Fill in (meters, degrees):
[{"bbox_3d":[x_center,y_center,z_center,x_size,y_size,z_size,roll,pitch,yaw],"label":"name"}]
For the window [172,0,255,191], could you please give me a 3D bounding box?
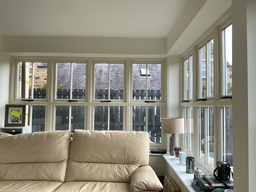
[{"bbox_3d":[0.820,-0.020,2.160,0.220,1.670,2.140,0,-2,-2],"label":"window"}]
